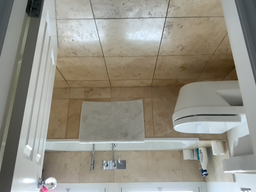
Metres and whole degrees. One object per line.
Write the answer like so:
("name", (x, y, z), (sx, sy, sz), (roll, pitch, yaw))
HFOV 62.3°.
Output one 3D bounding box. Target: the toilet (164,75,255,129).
("toilet", (0.610, 0.060, 1.680), (0.560, 0.330, 0.360), (0, 159, -1))
